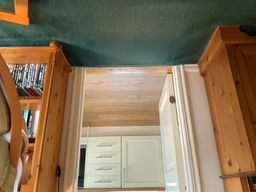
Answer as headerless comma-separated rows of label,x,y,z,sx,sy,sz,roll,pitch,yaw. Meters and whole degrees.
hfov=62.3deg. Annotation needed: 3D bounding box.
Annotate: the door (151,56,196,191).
door,0.360,0.920,1.670,0.110,2.250,0.990,-1,158,0
